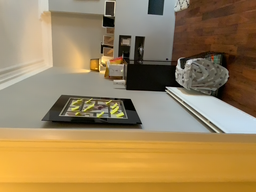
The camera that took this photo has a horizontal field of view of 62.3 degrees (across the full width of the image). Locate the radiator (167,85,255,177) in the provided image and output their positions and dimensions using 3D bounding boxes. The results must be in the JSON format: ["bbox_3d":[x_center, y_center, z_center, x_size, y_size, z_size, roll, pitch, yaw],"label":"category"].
[{"bbox_3d":[0.970,0.190,2.170,1.770,0.650,0.100,-108,21,-71],"label":"radiator"}]
